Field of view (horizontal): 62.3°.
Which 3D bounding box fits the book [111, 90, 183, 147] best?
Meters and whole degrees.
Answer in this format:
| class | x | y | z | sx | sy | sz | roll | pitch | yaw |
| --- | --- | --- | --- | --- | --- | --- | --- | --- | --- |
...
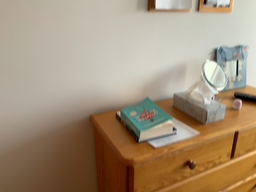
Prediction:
| class | x | y | z | sx | sy | sz | roll | pitch | yaw |
| --- | --- | --- | --- | --- | --- | --- | --- | --- | --- |
| book | 0.070 | 0.080 | 0.910 | 0.200 | 0.110 | 0.250 | -11 | 24 | -25 |
